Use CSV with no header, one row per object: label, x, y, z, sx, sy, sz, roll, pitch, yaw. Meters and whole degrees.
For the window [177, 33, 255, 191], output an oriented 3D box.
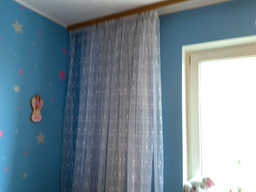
window,1.140,0.230,1.670,1.450,1.460,0.220,-2,-8,28
